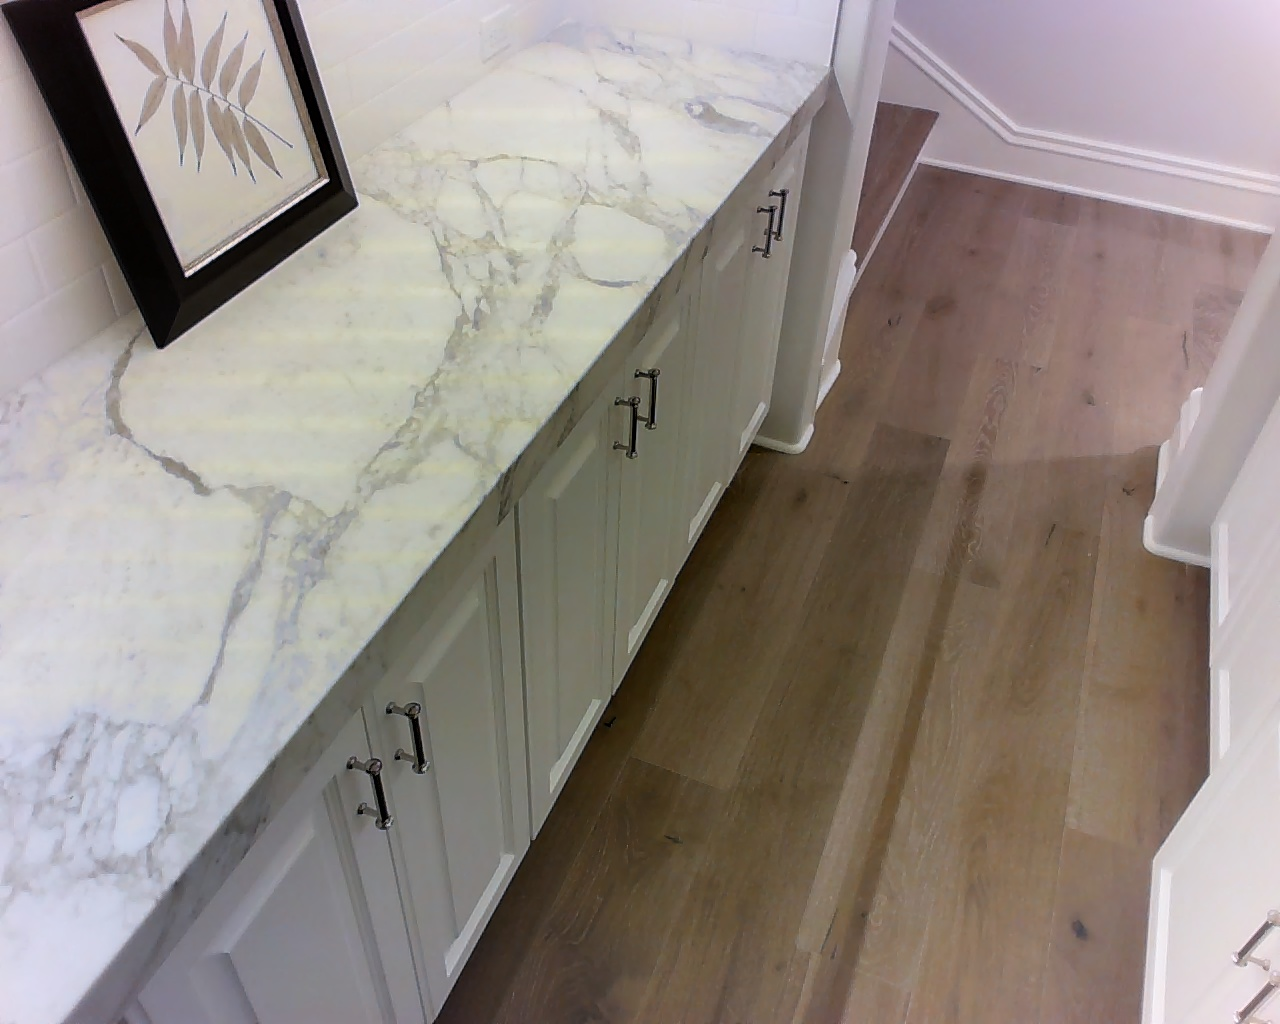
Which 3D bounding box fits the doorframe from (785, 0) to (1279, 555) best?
[{"bbox_3d":[0.930,-1.130,1.880,0.930,2.570,0.480,17,44,16],"label":"doorframe"}]
